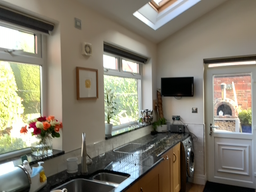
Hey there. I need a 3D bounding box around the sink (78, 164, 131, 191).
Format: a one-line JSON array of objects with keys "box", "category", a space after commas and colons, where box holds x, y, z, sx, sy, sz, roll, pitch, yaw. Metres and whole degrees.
[{"box": [-0.210, 0.740, 1.870, 0.430, 0.160, 0.200, 0, 1, 29], "category": "sink"}]

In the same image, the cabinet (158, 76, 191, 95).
[{"box": [0.840, -0.180, 3.850, 0.540, 0.330, 0.220, 0, 1, 27], "category": "cabinet"}]

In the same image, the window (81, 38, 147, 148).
[{"box": [-0.120, -0.050, 3.380, 0.180, 1.370, 1.600, 0, 1, 30], "category": "window"}]
